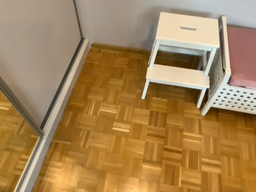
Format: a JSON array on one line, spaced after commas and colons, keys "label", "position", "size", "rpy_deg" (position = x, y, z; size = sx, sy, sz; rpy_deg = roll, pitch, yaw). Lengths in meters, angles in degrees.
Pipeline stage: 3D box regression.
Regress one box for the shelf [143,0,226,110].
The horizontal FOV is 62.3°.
[{"label": "shelf", "position": [0.360, -0.270, 1.480], "size": [0.400, 0.530, 0.460], "rpy_deg": [11, 57, 5]}]
